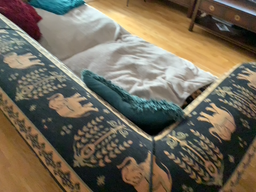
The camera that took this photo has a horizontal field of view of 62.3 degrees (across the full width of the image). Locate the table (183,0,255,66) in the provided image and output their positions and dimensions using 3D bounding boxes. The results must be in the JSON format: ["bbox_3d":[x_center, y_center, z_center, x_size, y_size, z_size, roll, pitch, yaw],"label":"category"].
[{"bbox_3d":[1.330,-0.870,2.650,1.110,0.480,0.430,37,50,28],"label":"table"}]
